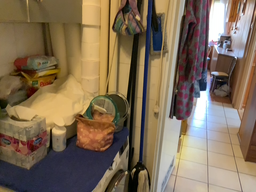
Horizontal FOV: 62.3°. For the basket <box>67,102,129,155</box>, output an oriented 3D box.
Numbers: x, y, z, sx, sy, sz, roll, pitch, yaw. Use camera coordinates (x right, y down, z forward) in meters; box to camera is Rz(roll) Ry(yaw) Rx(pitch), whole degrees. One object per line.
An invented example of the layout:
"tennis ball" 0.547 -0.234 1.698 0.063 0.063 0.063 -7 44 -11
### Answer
"basket" -0.150 0.160 1.170 0.220 0.130 0.310 10 20 16
